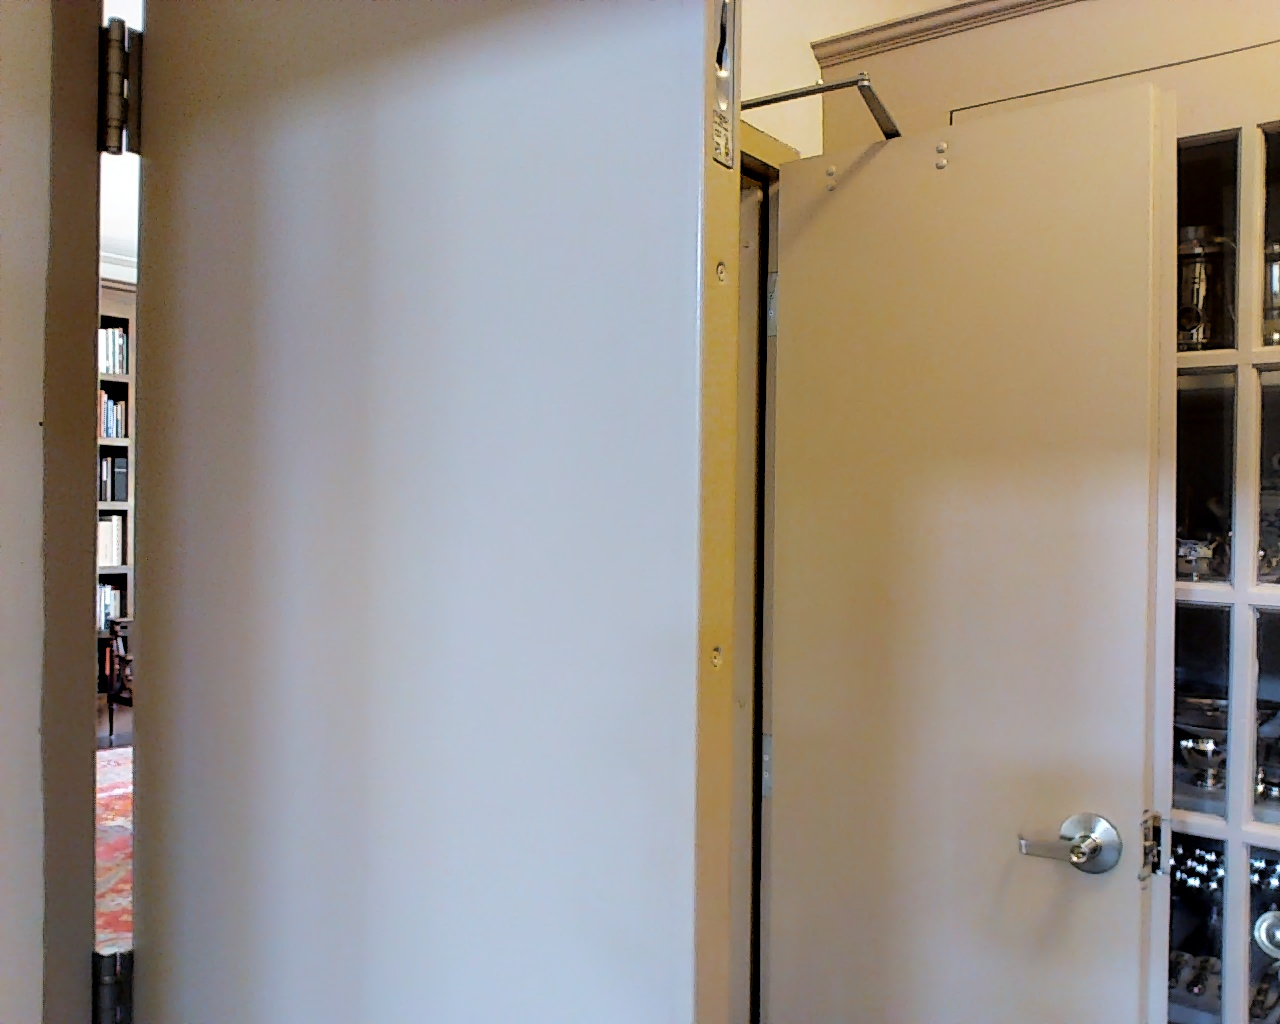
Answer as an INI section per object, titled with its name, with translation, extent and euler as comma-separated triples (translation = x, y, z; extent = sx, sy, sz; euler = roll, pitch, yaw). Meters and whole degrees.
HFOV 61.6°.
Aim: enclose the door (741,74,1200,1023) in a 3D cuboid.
[door]
translation = 0.480, 0.460, 1.710
extent = 0.710, 2.120, 0.060
euler = 1, 0, 39
